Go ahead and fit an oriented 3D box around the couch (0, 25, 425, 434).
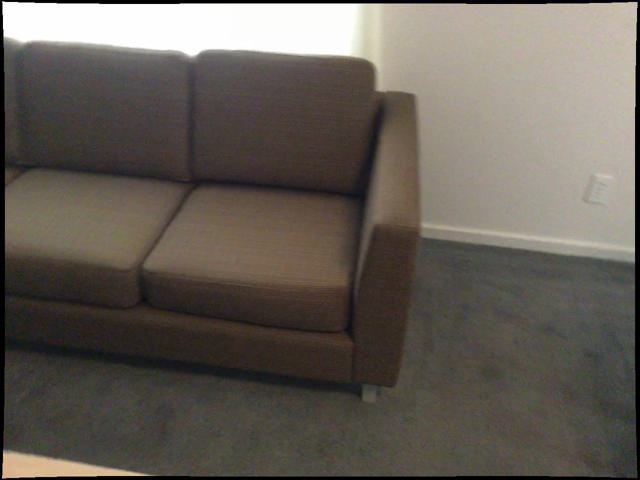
[{"bbox_3d":[-0.728,-0.150,1.850,2.015,0.832,0.891,5,31,7],"label":"couch"}]
